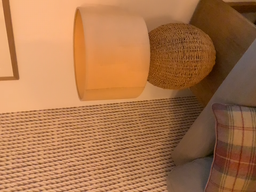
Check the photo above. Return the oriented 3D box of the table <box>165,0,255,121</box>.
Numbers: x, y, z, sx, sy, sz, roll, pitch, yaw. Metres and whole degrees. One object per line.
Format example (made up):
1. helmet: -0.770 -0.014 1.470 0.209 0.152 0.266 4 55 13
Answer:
1. table: 0.640 -0.230 1.180 0.540 0.570 0.440 110 147 -46
